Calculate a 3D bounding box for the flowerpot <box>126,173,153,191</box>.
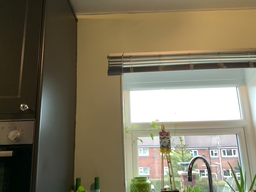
[{"bbox_3d":[0.080,0.690,1.490,0.180,0.260,0.170,-2,-13,1],"label":"flowerpot"}]
